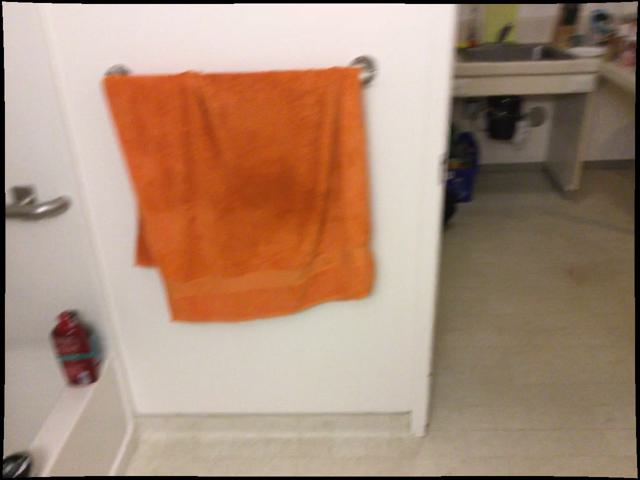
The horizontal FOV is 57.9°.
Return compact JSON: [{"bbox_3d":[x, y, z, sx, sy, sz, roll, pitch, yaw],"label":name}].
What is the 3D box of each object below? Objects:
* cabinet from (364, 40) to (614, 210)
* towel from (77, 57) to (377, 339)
[{"bbox_3d":[0.909,-0.701,3.490,1.269,0.831,0.640,-1,28,4],"label":"cabinet"},{"bbox_3d":[-0.200,-0.080,1.550,0.689,0.751,0.140,-1,28,4],"label":"towel"}]
